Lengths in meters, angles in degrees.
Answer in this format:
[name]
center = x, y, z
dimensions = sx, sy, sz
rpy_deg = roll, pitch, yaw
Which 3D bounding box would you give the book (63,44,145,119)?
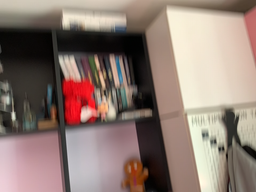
[book]
center = -0.160, -0.080, 1.290
dimensions = 0.390, 0.370, 0.270
rpy_deg = -4, -11, -24
